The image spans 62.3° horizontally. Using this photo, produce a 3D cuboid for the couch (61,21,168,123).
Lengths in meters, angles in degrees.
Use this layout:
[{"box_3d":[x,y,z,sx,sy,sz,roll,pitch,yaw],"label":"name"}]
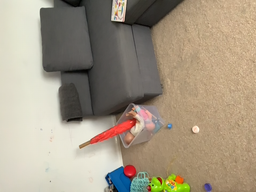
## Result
[{"box_3d":[-0.190,-0.150,2.020,0.860,0.580,0.620,-26,69,52],"label":"couch"}]
